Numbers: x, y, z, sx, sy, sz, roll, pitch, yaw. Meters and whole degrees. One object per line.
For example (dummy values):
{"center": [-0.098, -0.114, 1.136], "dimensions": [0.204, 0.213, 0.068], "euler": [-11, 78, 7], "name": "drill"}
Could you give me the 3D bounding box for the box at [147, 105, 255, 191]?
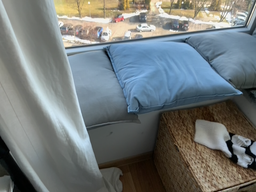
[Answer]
{"center": [0.370, 0.370, 1.050], "dimensions": [0.390, 0.440, 0.380], "euler": [-12, 46, -15], "name": "box"}
